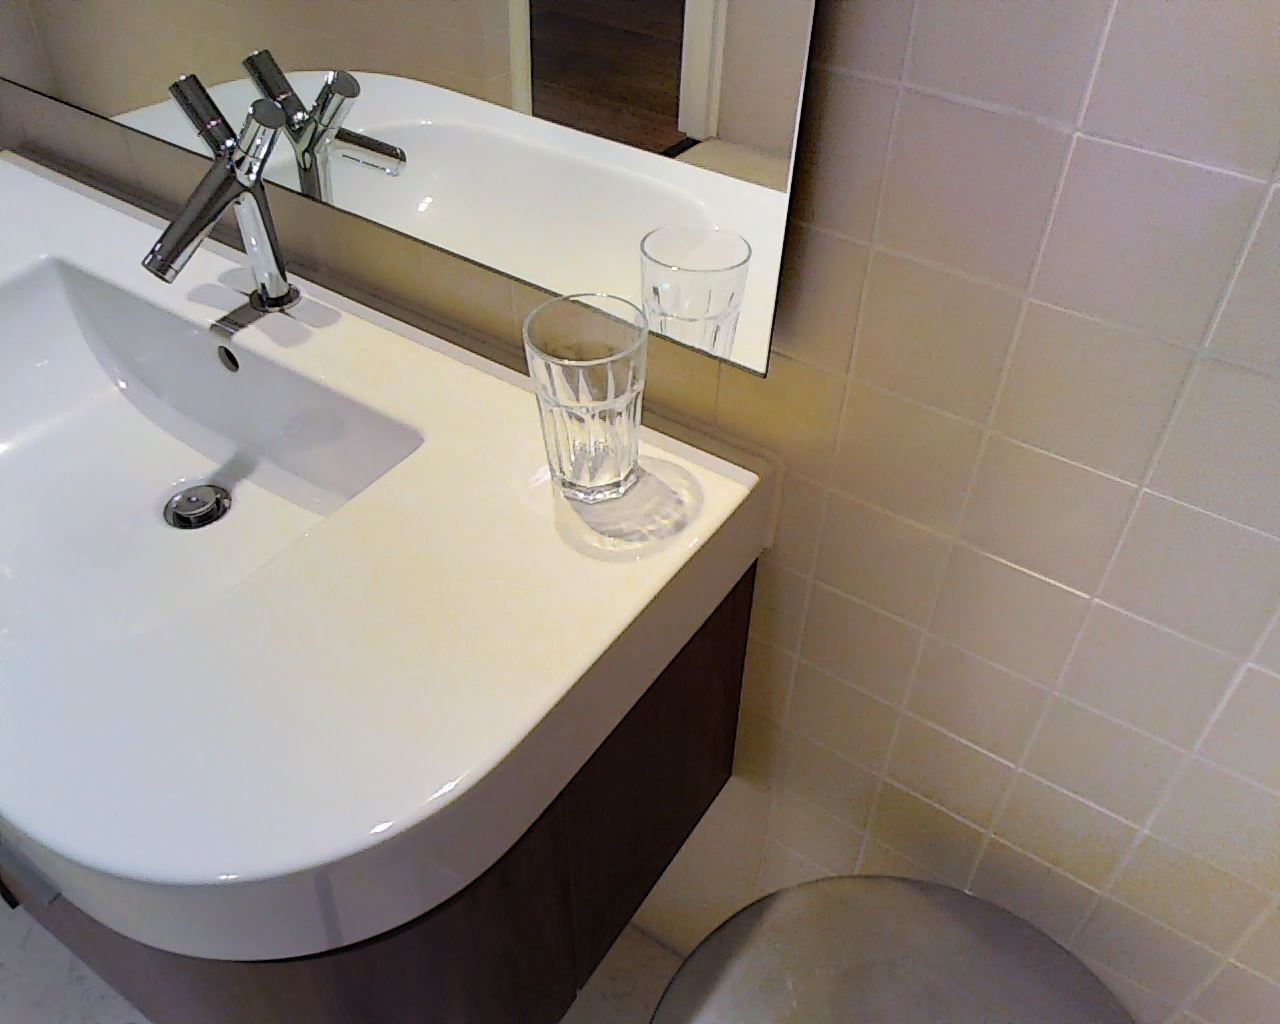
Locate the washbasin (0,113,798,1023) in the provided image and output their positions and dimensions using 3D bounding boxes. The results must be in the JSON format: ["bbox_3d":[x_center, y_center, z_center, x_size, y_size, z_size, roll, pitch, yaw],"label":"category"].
[{"bbox_3d":[-0.460,0.080,1.030,1.020,0.520,0.540,25,46,23],"label":"washbasin"}]
